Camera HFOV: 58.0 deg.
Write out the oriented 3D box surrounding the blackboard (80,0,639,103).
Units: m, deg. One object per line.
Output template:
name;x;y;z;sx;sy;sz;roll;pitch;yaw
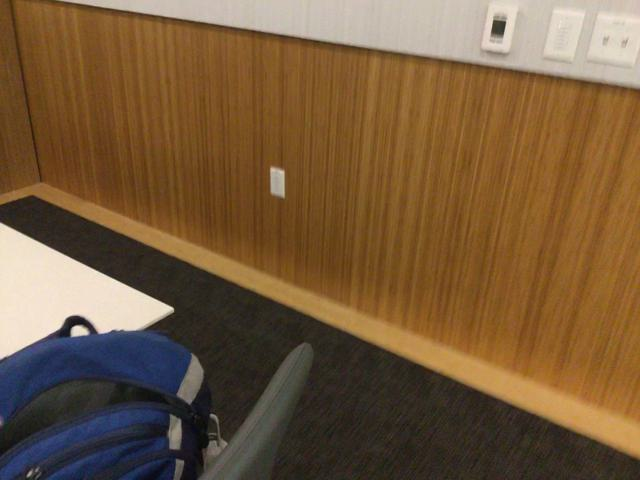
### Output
blackboard;-0.090;-0.790;1.980;2.230;0.240;0.090;19;29;29
